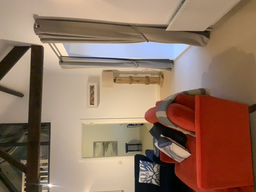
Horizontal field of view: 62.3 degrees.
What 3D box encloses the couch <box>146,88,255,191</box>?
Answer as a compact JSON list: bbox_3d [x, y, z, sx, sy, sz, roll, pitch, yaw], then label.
[{"bbox_3d":[0.750,0.530,2.540,1.340,0.790,1.070,140,130,-80],"label":"couch"}]
